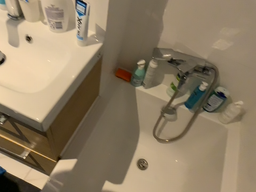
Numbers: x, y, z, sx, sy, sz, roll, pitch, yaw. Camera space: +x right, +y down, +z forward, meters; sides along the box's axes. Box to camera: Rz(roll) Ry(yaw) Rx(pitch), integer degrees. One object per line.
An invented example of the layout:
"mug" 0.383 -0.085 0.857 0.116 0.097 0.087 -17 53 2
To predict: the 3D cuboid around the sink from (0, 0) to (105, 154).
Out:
"sink" -0.480 -0.160 0.710 0.680 0.130 0.420 24 53 5
